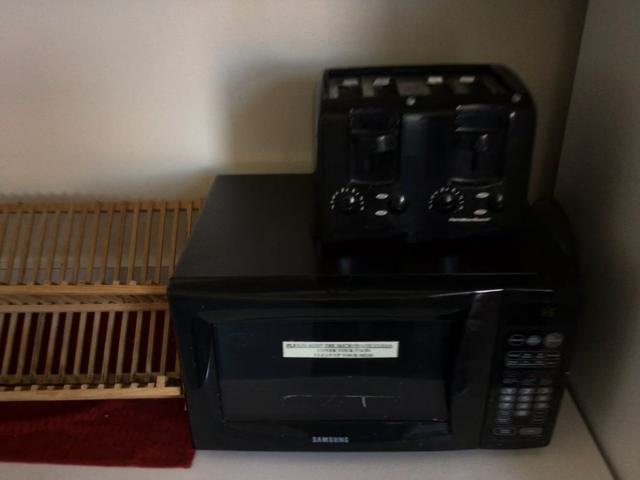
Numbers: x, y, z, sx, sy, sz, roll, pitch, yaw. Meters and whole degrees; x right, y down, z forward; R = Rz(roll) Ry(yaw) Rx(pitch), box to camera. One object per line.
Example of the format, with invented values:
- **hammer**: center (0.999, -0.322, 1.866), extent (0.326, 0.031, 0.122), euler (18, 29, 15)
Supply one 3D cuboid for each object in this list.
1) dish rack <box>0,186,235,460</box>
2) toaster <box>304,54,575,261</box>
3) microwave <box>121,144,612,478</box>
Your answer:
- **dish rack**: center (-0.470, 0.110, 0.990), extent (0.560, 0.260, 0.410), euler (1, 29, 3)
- **toaster**: center (0.140, -0.130, 0.820), extent (0.300, 0.200, 0.280), euler (1, 29, 3)
- **microwave**: center (0.060, 0.080, 0.930), extent (0.560, 0.340, 0.420), euler (1, 29, 3)
